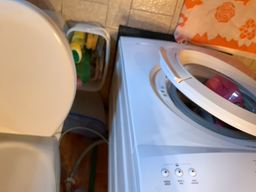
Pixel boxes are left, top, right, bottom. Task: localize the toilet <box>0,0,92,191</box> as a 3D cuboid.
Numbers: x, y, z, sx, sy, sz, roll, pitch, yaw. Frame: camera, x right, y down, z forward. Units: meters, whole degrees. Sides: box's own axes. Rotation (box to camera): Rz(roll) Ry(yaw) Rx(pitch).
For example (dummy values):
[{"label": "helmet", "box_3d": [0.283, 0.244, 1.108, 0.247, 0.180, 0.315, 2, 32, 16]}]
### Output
[{"label": "toilet", "box_3d": [-0.380, 0.010, 0.750, 0.390, 0.740, 0.660, 7, 124, -10]}]
